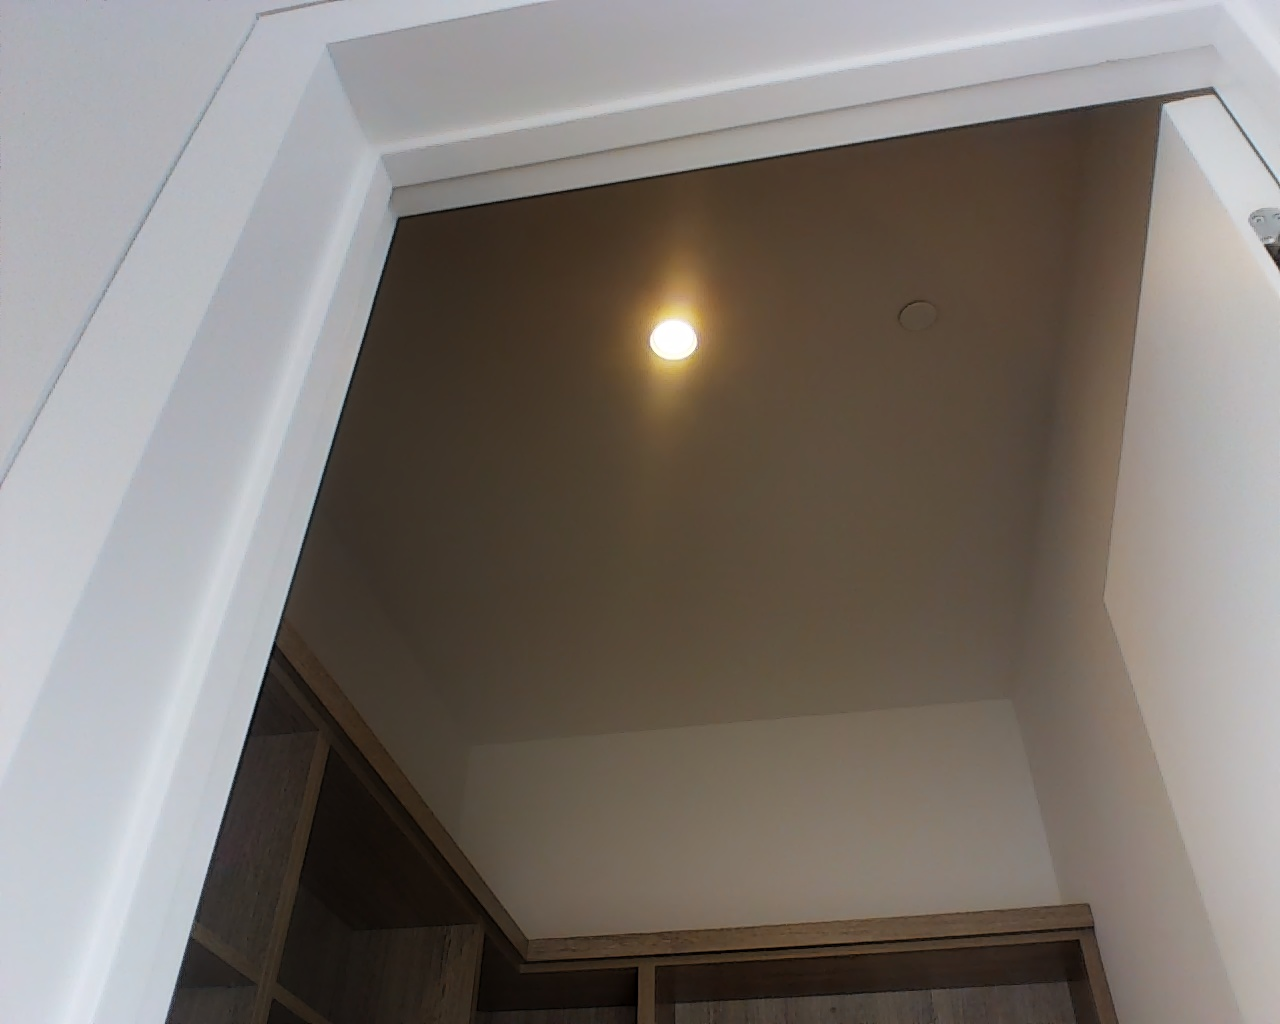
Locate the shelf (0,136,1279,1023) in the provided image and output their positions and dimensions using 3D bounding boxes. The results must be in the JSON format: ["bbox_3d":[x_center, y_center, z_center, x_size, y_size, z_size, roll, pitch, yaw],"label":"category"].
[{"bbox_3d":[0.030,1.320,1.120,1.670,2.540,2.110,-6,-44,8],"label":"shelf"}]
